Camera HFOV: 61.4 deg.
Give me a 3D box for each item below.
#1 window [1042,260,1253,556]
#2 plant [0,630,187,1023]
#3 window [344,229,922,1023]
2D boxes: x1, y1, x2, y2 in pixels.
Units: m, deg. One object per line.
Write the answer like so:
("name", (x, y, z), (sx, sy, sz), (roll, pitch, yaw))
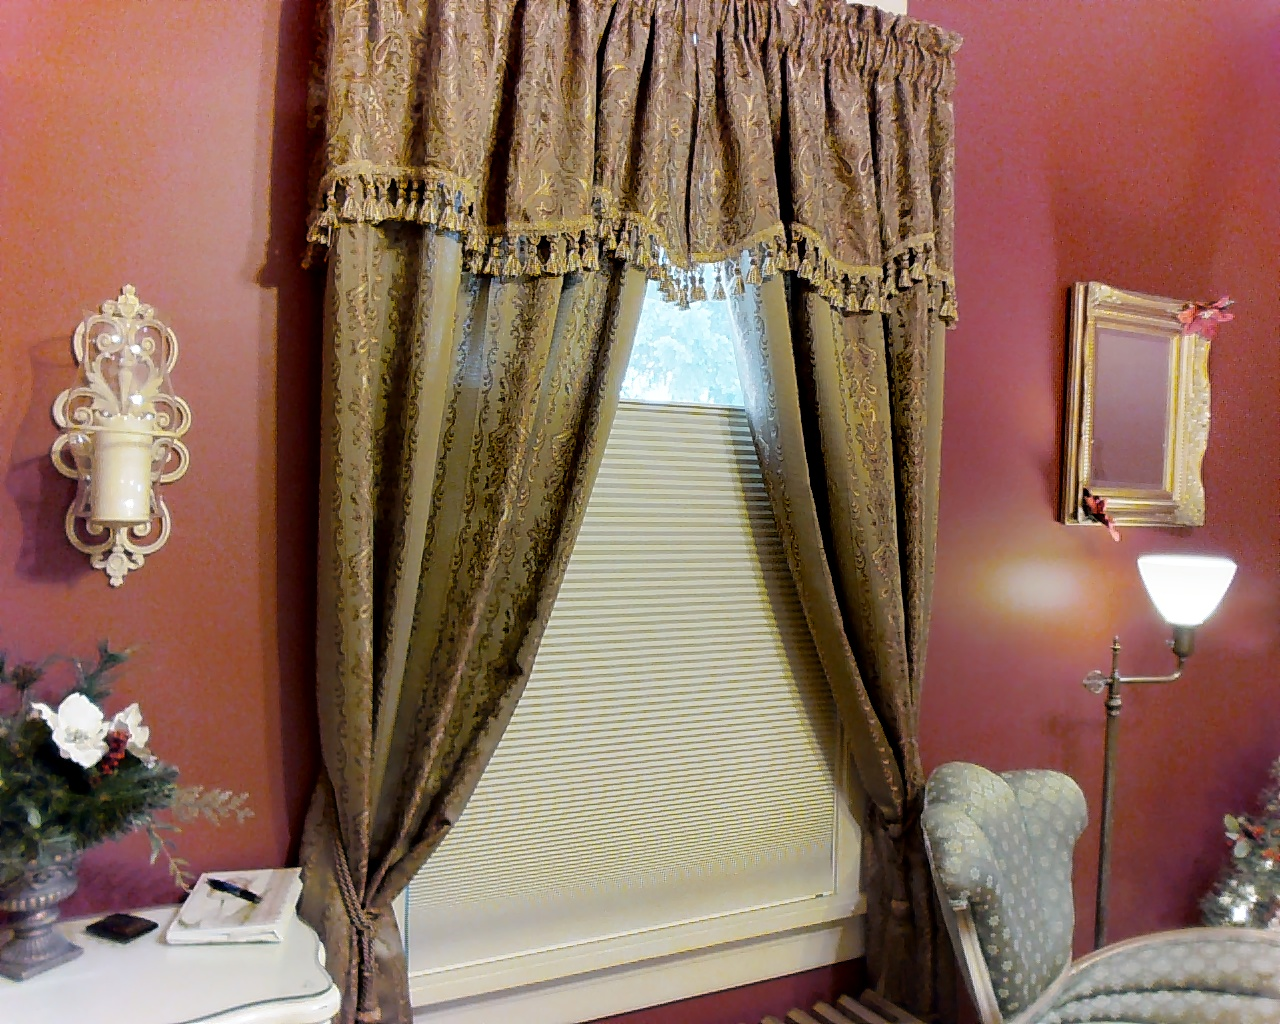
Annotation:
("window", (1.250, -0.230, 2.640), (0.550, 0.670, 0.160), (1, 0, -28))
("plant", (-0.810, 0.390, 1.390), (0.370, 0.420, 0.410), (1, 0, -28))
("window", (0.040, 0.310, 2.020), (1.120, 1.491, 0.140), (1, 0, -28))
